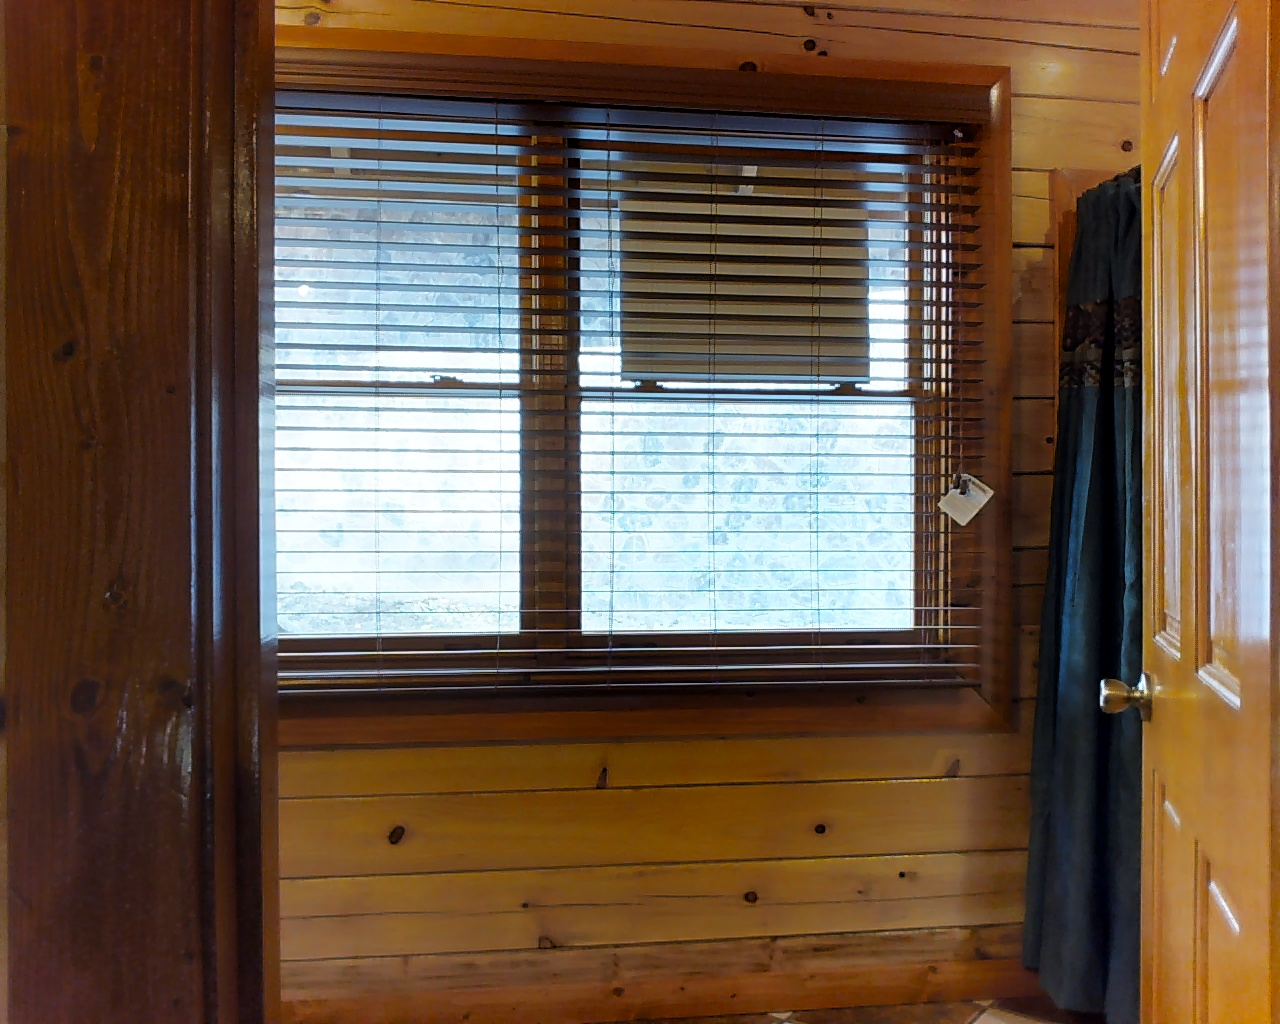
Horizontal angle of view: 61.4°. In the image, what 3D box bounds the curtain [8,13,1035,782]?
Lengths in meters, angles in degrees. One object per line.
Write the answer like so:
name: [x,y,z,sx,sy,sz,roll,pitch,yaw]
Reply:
curtain: [-0.210,-0.240,2.480,2.199,1.571,0.300,0,1,-7]
